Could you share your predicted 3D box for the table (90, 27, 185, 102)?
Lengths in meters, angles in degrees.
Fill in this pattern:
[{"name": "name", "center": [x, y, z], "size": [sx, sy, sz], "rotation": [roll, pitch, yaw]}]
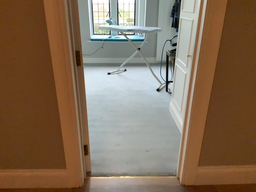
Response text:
[{"name": "table", "center": [0.090, -0.640, 3.680], "size": [1.560, 0.920, 0.620], "rotation": [22, 31, 40]}]
